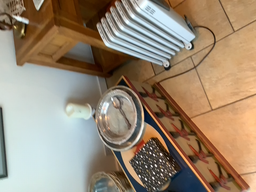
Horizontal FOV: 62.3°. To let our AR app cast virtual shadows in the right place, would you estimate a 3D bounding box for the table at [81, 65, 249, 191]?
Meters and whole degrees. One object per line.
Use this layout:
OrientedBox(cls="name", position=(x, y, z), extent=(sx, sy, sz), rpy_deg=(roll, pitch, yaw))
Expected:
OrientedBox(cls="table", position=(0.180, 0.300, 1.340), extent=(0.420, 0.430, 0.940), rpy_deg=(-51, 58, 24))
